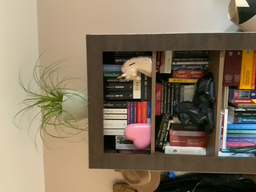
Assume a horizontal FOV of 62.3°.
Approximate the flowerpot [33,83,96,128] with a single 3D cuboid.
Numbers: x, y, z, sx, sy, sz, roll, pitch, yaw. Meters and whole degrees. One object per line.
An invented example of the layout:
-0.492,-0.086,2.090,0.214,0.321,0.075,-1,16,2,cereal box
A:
-0.370,0.050,1.290,0.190,0.310,0.230,-72,-18,-78,flowerpot
